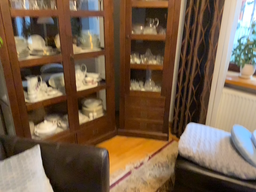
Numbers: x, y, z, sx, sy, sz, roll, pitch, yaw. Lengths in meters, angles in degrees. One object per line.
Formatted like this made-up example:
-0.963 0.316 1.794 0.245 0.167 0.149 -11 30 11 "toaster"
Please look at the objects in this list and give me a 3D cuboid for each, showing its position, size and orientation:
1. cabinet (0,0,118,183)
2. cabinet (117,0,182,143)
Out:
-0.690 -0.310 2.170 0.480 1.960 1.160 20 28 40 "cabinet"
0.220 -0.440 2.510 0.630 2.010 0.400 4 21 5 "cabinet"
